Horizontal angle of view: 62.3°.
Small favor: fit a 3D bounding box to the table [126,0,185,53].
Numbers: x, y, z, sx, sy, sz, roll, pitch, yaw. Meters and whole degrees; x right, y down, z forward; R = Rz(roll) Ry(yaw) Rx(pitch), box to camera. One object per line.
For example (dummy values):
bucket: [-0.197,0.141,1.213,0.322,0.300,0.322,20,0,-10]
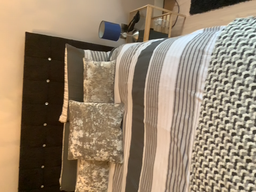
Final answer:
table: [0.270,-0.670,2.150,0.380,0.410,0.380,15,101,60]
